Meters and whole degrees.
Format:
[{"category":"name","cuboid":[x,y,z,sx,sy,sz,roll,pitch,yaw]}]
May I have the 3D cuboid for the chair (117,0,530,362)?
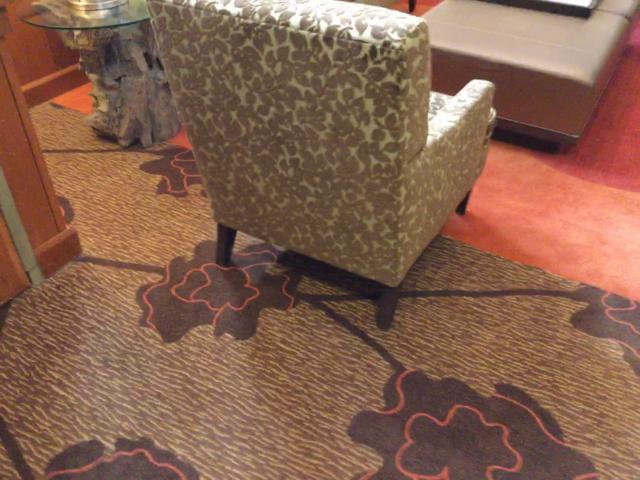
[{"category":"chair","cuboid":[0.080,-0.390,1.790,0.760,0.950,0.900,21,45,25]}]
